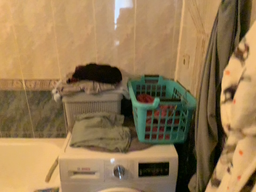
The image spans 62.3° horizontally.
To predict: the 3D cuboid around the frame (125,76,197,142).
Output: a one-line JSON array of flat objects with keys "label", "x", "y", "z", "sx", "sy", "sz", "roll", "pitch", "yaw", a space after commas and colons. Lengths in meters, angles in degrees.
[{"label": "frame", "x": 0.160, "y": 0.050, "z": 1.290, "sx": 0.310, "sy": 0.210, "sz": 0.470, "roll": -2, "pitch": 23, "yaw": -6}]
